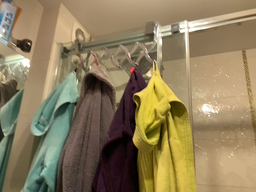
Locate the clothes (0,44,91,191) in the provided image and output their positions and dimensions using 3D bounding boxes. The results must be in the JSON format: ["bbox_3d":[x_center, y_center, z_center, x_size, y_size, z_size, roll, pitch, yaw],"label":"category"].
[{"bbox_3d":[-0.410,0.400,0.800,0.360,1.190,0.190,-5,-21,23],"label":"clothes"}]

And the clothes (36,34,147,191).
[{"bbox_3d":[-0.110,0.390,0.790,0.180,1.130,0.440,-6,-21,26],"label":"clothes"}]
